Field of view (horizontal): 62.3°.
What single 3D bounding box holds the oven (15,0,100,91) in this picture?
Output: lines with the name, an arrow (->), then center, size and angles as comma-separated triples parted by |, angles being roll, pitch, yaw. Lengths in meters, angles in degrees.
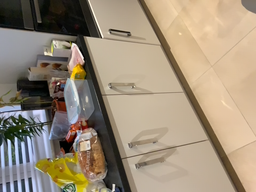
oven -> -0.660, -0.510, 1.830 | 0.720, 0.470, 0.620 | -51, 51, 45
